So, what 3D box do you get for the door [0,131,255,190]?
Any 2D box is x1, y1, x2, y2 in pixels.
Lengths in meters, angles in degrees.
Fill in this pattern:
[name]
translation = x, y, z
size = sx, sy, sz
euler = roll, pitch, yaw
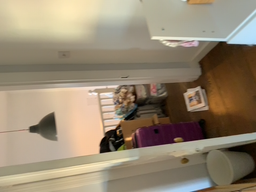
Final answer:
[door]
translation = 0.070, 0.380, 1.280
size = 0.730, 1.970, 0.070
euler = 129, 135, -64
